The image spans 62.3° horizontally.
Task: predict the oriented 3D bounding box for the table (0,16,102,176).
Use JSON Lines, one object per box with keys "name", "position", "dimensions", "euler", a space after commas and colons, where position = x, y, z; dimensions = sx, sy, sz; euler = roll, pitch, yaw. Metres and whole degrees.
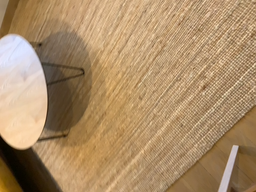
{"name": "table", "position": [-0.740, -0.030, 1.610], "dimensions": [0.810, 0.360, 0.800], "euler": [39, 115, 23]}
